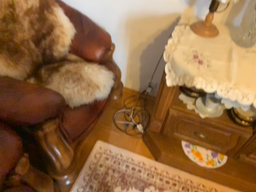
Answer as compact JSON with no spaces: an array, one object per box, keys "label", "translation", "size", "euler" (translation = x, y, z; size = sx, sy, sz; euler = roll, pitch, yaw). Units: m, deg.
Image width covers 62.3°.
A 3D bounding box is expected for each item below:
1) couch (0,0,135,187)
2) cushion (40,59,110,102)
[{"label":"couch","translation":[-0.550,-0.190,1.320],"size":[0.870,0.850,0.920],"euler":[18,47,8]},{"label":"cushion","translation":[-0.310,-0.100,1.300],"size":[0.380,0.090,0.280],"euler":[0,47,-9]}]
